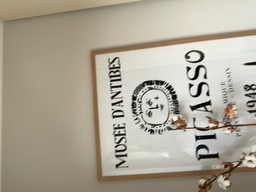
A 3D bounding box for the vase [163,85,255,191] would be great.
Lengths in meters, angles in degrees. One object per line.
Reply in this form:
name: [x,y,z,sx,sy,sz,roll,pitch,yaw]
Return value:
vase: [0.490,0.160,0.790,0.270,0.660,0.370,54,-149,-80]
